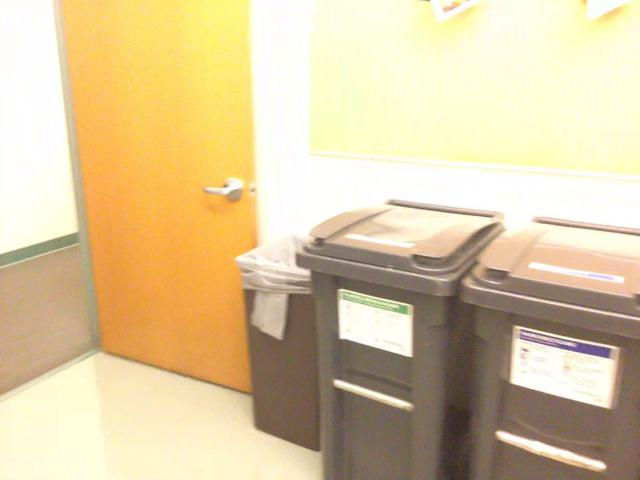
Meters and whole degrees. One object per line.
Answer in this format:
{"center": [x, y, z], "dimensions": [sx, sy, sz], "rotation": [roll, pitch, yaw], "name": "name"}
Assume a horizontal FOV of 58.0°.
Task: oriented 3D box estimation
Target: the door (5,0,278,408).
{"center": [-0.760, -0.460, 2.420], "dimensions": [1.120, 2.160, 0.280], "rotation": [9, 21, 30], "name": "door"}
